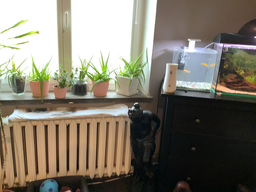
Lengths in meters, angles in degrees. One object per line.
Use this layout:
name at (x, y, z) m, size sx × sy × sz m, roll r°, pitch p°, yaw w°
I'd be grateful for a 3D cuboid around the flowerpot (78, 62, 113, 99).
flowerpot at (-0.310, -0.150, 1.970) m, size 0.280 × 0.290 × 0.220 m, roll -2°, pitch 17°, yaw -18°

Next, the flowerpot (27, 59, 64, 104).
flowerpot at (-0.730, -0.140, 1.900) m, size 0.270 × 0.350 × 0.260 m, roll -2°, pitch 17°, yaw -19°

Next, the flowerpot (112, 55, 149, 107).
flowerpot at (0.010, -0.150, 2.010) m, size 0.260 × 0.440 × 0.240 m, roll -2°, pitch 17°, yaw -18°
